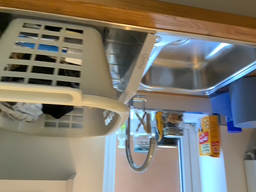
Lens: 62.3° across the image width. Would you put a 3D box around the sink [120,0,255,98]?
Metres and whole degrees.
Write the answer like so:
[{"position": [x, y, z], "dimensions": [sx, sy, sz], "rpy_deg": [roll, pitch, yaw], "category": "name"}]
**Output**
[{"position": [0.250, -0.170, 0.900], "dimensions": [0.480, 0.180, 0.510], "rpy_deg": [5, 162, -11], "category": "sink"}]
